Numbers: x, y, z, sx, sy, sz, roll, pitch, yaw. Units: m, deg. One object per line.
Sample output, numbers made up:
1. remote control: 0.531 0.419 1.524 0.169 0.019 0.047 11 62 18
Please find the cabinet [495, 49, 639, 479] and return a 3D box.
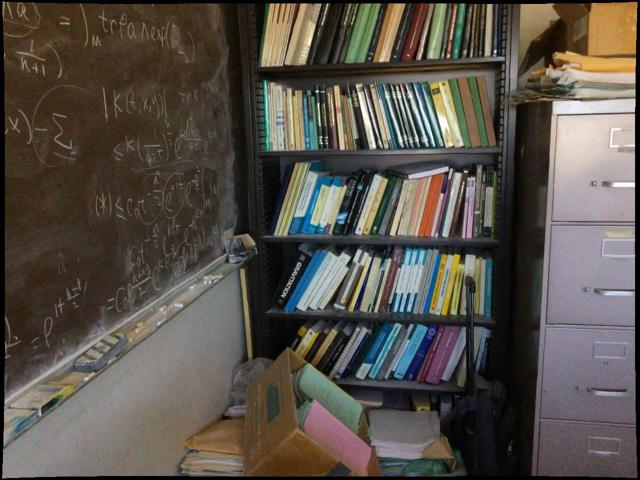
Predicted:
1. cabinet: 0.888 0.241 1.930 0.499 1.604 0.780 -1 12 12
